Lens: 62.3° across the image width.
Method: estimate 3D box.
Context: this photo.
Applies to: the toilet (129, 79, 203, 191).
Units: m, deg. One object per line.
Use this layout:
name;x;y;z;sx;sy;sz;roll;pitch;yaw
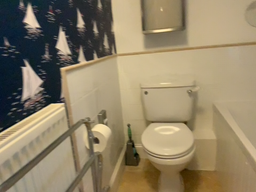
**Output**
toilet;0.300;0.330;1.620;0.420;0.790;0.660;-2;14;11
